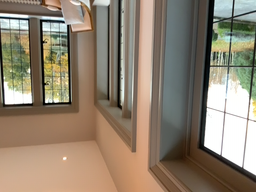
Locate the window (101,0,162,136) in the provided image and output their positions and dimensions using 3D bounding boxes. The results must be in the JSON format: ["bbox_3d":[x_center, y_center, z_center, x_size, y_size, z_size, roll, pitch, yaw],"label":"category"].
[{"bbox_3d":[-0.130,-0.690,3.050,0.080,1.760,2.540,-1,-171,-17],"label":"window"}]

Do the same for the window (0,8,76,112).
[{"bbox_3d":[-2.410,-0.610,3.740,2.900,1.810,0.100,-2,-171,-21],"label":"window"}]
